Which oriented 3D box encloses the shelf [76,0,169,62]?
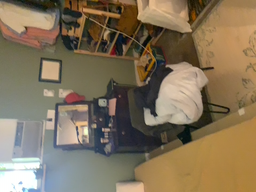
[{"bbox_3d":[-0.140,-1.020,3.350,0.890,1.210,0.410,129,140,-57],"label":"shelf"}]
